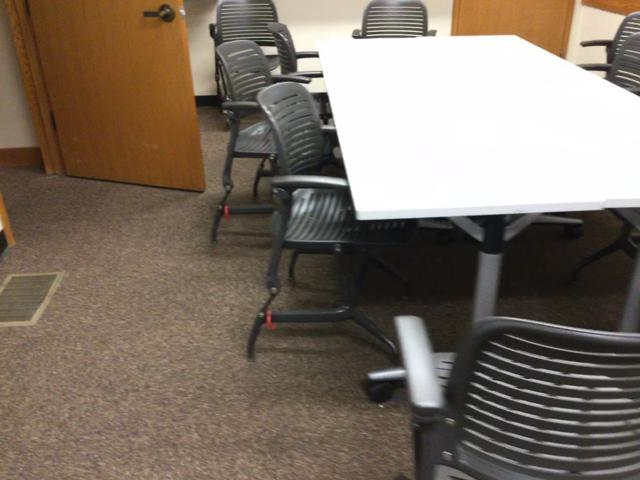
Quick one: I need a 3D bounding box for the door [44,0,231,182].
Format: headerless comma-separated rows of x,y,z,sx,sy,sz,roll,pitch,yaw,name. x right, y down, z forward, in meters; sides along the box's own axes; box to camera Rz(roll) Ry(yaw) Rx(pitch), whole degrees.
-0.980,-1.150,2.850,0.760,1.790,0.150,2,29,18,door

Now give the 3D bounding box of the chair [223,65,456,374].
0.060,-0.100,2.000,0.610,0.830,0.670,-3,27,0,chair

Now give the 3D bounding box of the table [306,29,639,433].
0.600,-0.350,2.610,1.260,0.780,2.380,-3,27,0,table

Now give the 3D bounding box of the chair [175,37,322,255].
-0.280,-0.450,2.670,0.430,0.840,0.580,3,28,11,chair
